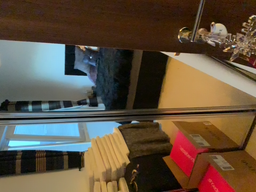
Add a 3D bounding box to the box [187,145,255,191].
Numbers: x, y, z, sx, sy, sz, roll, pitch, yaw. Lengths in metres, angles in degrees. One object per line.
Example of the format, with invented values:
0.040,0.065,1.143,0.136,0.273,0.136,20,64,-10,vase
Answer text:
0.750,0.690,1.410,0.550,0.360,0.430,-126,40,-58,box
